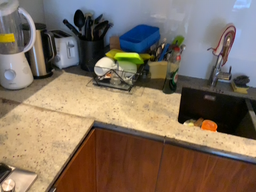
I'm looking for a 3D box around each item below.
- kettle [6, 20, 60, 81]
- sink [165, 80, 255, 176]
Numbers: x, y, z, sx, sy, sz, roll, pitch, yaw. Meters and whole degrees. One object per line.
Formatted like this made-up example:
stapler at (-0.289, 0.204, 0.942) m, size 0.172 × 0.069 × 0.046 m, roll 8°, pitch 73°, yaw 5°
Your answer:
kettle at (-0.510, -0.250, 1.160) m, size 0.220 × 0.270 × 0.110 m, roll 16°, pitch 33°, yaw 18°
sink at (0.420, 0.140, 1.110) m, size 0.370 × 0.250 × 0.370 m, roll 11°, pitch 32°, yaw 11°
